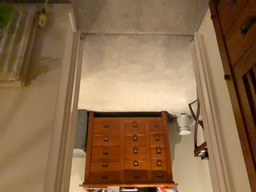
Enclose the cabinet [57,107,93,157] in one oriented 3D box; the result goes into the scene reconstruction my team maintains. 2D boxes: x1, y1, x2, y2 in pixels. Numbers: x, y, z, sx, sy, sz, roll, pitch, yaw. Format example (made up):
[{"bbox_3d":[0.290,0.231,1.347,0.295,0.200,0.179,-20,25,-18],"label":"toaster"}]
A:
[{"bbox_3d":[-0.760,0.550,3.180,0.390,0.590,0.590,0,154,-3],"label":"cabinet"}]
